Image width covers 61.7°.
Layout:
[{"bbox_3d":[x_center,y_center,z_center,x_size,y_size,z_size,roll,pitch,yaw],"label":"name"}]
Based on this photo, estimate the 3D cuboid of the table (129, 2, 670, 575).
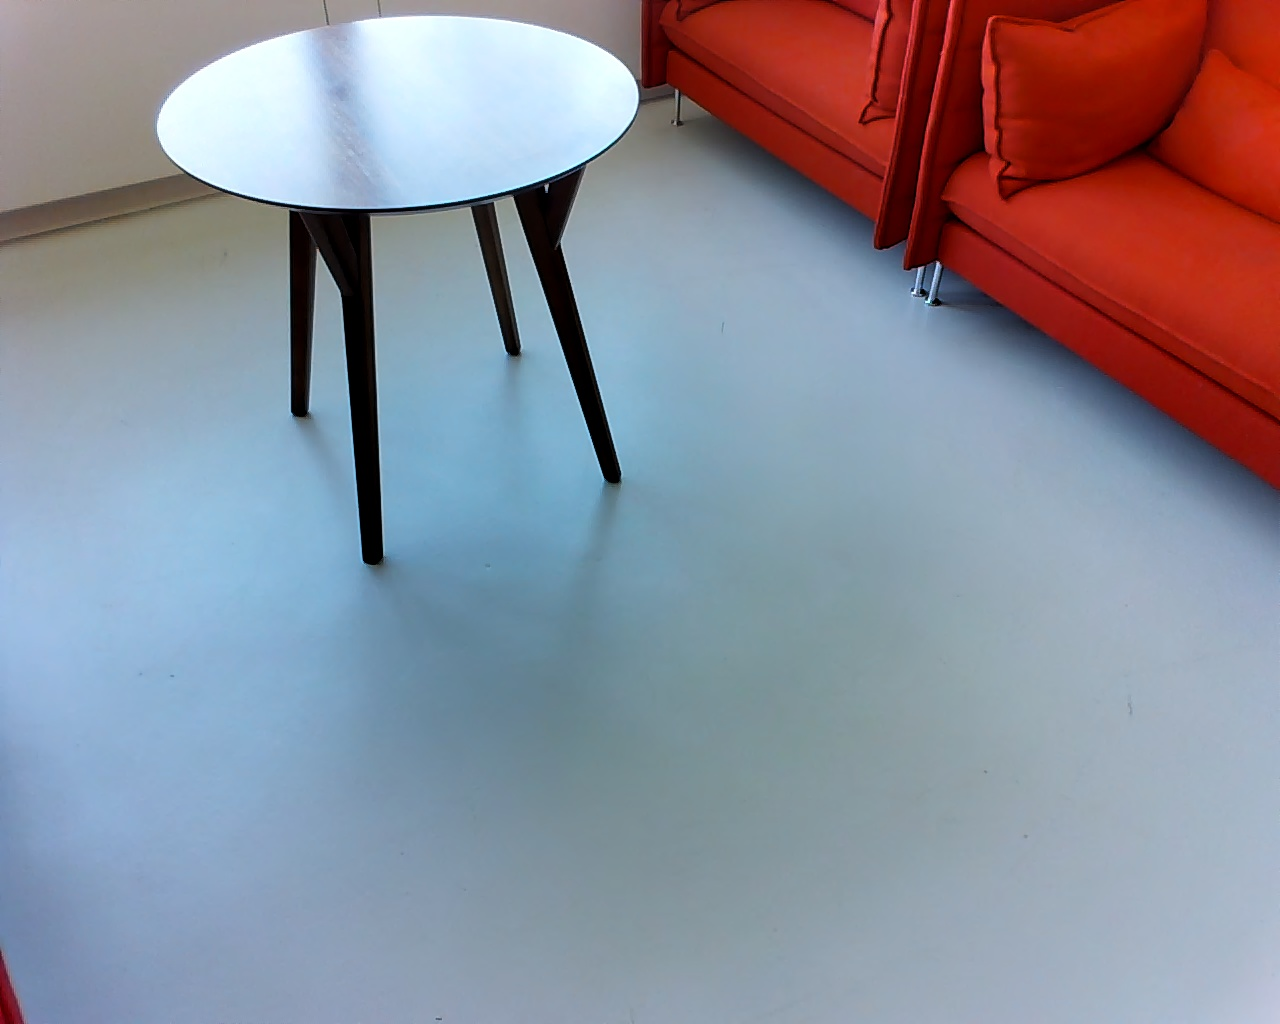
[{"bbox_3d":[-0.410,-0.460,2.120,0.780,0.770,0.500,-29,50,-28],"label":"table"}]
